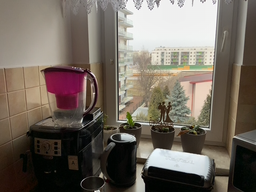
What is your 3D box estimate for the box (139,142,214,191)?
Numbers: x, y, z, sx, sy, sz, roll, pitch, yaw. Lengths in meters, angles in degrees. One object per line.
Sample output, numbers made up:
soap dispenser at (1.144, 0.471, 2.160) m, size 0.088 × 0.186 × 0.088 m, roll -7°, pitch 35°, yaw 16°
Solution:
box at (0.230, 0.350, 1.010) m, size 0.300 × 0.130 × 0.270 m, roll 3°, pitch 11°, yaw 16°
